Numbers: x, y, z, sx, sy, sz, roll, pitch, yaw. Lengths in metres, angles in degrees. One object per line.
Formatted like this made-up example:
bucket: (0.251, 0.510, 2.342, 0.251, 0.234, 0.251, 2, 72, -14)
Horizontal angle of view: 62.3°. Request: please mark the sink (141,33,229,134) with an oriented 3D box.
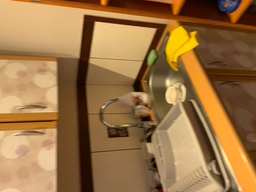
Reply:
sink: (0.290, -0.060, 1.270, 0.440, 0.220, 0.400, 114, 150, -50)
